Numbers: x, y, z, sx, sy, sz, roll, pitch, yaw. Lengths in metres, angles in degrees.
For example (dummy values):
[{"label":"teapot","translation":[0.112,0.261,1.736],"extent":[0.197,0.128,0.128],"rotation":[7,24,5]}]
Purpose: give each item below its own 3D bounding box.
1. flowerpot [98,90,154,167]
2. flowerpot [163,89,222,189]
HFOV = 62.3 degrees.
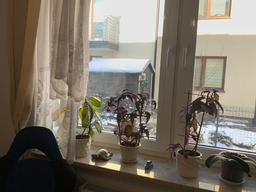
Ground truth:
[{"label":"flowerpot","translation":[-0.010,0.200,1.480],"extent":[0.300,0.460,0.240],"rotation":[5,6,23]},{"label":"flowerpot","translation":[0.380,0.220,1.250],"extent":[0.230,0.490,0.260],"rotation":[9,8,21]}]
